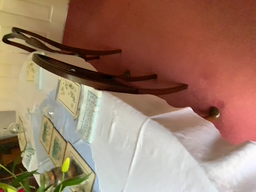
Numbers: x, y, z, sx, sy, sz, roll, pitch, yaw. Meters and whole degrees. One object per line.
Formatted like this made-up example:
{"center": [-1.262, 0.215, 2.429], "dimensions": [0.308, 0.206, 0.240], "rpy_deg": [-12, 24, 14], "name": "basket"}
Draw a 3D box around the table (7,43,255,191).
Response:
{"center": [-0.140, 0.330, 1.530], "dimensions": [2.160, 0.750, 0.960], "rpy_deg": [27, 110, 43], "name": "table"}
